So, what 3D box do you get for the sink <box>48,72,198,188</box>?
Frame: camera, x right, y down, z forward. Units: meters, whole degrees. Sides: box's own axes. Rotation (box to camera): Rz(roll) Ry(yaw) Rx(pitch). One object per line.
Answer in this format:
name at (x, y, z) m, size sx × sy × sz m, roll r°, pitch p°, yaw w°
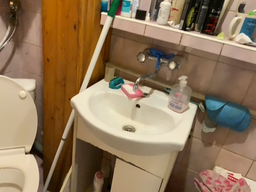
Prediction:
sink at (0.000, 0.090, 0.950) m, size 0.520 × 0.140 × 0.430 m, roll 20°, pitch 29°, yaw 18°
